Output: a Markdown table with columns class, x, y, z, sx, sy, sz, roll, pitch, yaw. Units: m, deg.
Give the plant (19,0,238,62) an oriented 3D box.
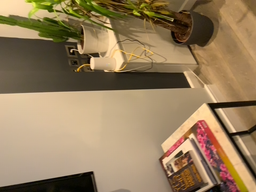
| class | x | y | z | sx | sy | sz | roll | pitch | yaw |
| --- | --- | --- | --- | --- | --- | --- | --- | --- | --- |
| plant | 0.010 | -0.610 | 1.550 | 0.600 | 1.430 | 0.380 | -55 | 45 | 50 |
